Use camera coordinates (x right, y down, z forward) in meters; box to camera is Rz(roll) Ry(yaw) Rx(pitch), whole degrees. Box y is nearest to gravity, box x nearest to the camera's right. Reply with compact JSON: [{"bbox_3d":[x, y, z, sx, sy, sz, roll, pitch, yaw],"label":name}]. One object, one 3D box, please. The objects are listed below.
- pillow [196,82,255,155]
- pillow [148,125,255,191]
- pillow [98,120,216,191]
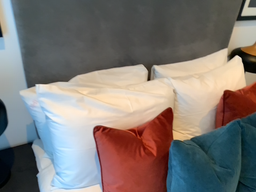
[{"bbox_3d":[0.650,0.110,1.190,0.430,0.330,0.150,-13,46,-26],"label":"pillow"},{"bbox_3d":[0.310,0.320,0.820,0.390,0.360,0.140,-13,53,-25],"label":"pillow"},{"bbox_3d":[0.090,0.300,0.850,0.360,0.360,0.140,-10,49,-23],"label":"pillow"}]
